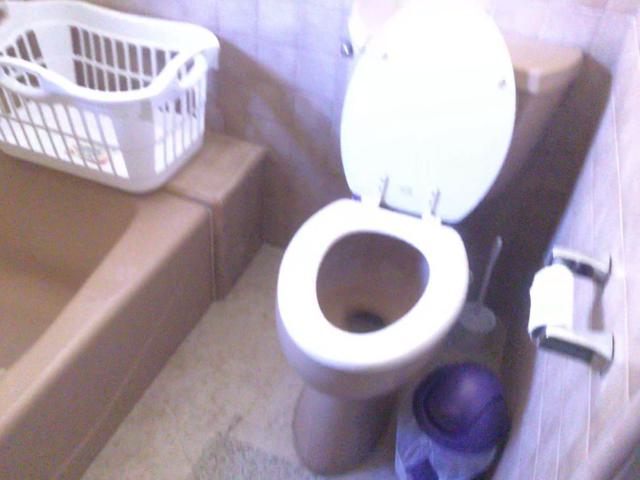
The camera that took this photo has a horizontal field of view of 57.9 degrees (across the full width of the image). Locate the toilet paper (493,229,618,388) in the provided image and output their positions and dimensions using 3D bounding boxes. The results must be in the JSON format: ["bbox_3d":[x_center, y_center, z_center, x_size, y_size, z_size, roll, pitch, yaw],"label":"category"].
[{"bbox_3d":[0.300,0.080,0.740,0.120,0.070,0.180,15,41,13],"label":"toilet paper"}]

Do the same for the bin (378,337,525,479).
[{"bbox_3d":[0.260,0.400,1.190,0.220,0.310,0.190,15,41,13],"label":"bin"}]
